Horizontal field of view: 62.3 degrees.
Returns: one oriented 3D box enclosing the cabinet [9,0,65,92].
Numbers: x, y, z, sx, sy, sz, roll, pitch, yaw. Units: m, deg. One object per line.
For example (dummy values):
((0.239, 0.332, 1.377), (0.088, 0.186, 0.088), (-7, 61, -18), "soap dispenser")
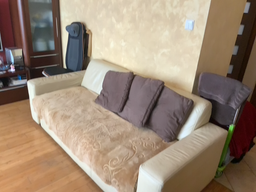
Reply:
((-1.390, -1.150, 3.240), (0.560, 2.050, 0.480), (-18, 33, -40), "cabinet")
